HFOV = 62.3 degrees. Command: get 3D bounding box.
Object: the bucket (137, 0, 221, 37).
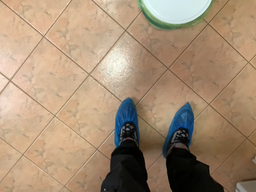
[{"bbox_3d":[0.200,-0.420,0.950,0.300,0.320,0.260,-1,100,0],"label":"bucket"}]
